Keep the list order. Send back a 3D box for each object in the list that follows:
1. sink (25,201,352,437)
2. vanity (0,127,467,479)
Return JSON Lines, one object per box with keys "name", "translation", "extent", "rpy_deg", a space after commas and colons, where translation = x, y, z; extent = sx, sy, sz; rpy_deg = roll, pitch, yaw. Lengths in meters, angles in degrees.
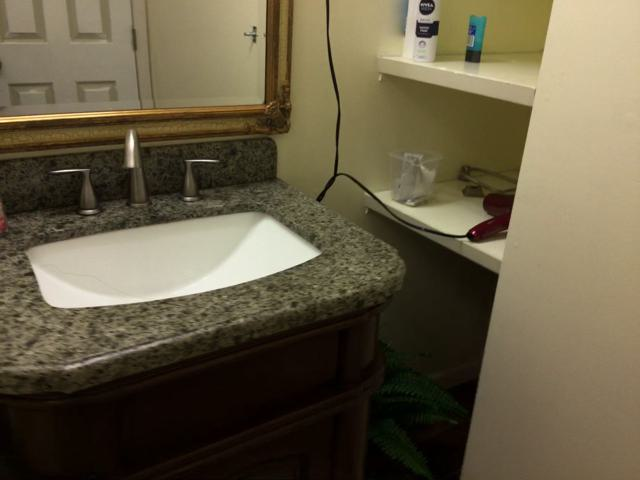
{"name": "sink", "translation": [-0.240, 0.100, 1.050], "extent": [0.470, 0.190, 0.340], "rpy_deg": [-10, 27, -31]}
{"name": "vanity", "translation": [-0.260, 0.360, 1.170], "extent": [0.720, 1.020, 0.580], "rpy_deg": [-10, 27, -31]}
